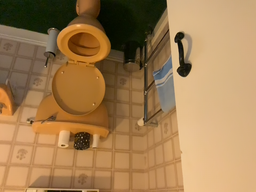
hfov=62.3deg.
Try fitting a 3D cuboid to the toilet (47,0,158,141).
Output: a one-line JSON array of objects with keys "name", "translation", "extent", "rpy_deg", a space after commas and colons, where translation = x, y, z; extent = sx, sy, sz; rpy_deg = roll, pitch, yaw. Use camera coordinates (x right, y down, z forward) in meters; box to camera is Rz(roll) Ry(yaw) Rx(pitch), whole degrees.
[{"name": "toilet", "translation": [-0.230, -0.230, 1.650], "extent": [0.610, 0.970, 0.710], "rpy_deg": [8, 154, -18]}]
